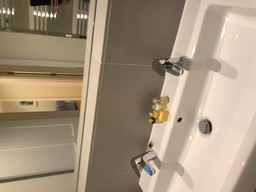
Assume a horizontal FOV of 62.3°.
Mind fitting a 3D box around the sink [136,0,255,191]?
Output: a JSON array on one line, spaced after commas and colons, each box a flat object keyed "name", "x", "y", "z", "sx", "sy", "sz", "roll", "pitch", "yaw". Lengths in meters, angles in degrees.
[{"name": "sink", "x": 0.300, "y": 0.160, "z": 0.850, "sx": 0.470, "sy": 0.190, "sz": 0.990, "roll": -132, "pitch": 47, "yaw": -56}]
